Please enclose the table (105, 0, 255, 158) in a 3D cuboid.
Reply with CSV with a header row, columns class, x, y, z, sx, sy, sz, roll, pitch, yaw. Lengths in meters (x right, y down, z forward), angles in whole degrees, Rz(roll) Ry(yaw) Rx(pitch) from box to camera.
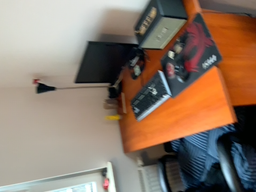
class,x,y,z,sx,sy,sz,roll,pitch,yaw
table,0.430,-0.020,1.610,1.220,0.780,0.690,136,126,-59
